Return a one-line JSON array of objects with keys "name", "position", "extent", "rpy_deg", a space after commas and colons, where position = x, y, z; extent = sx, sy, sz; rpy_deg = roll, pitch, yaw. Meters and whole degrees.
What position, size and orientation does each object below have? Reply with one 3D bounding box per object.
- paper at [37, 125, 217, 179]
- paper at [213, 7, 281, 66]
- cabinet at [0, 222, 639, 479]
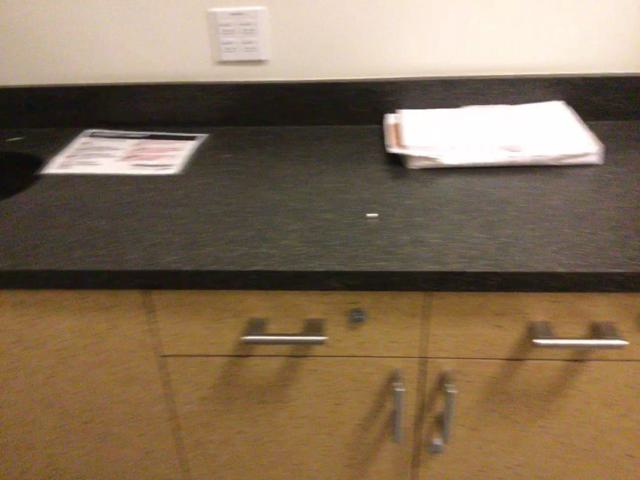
[{"name": "paper", "position": [-0.410, -0.200, 1.280], "extent": [0.310, 0.020, 0.260], "rpy_deg": [2, 30, 3]}, {"name": "paper", "position": [-0.160, -0.450, 1.280], "extent": [0.140, 0.120, 0.030], "rpy_deg": [2, 30, 3]}, {"name": "cabinet", "position": [0.170, 0.380, 1.050], "extent": [2.670, 0.850, 0.080], "rpy_deg": [2, 30, 3]}]
